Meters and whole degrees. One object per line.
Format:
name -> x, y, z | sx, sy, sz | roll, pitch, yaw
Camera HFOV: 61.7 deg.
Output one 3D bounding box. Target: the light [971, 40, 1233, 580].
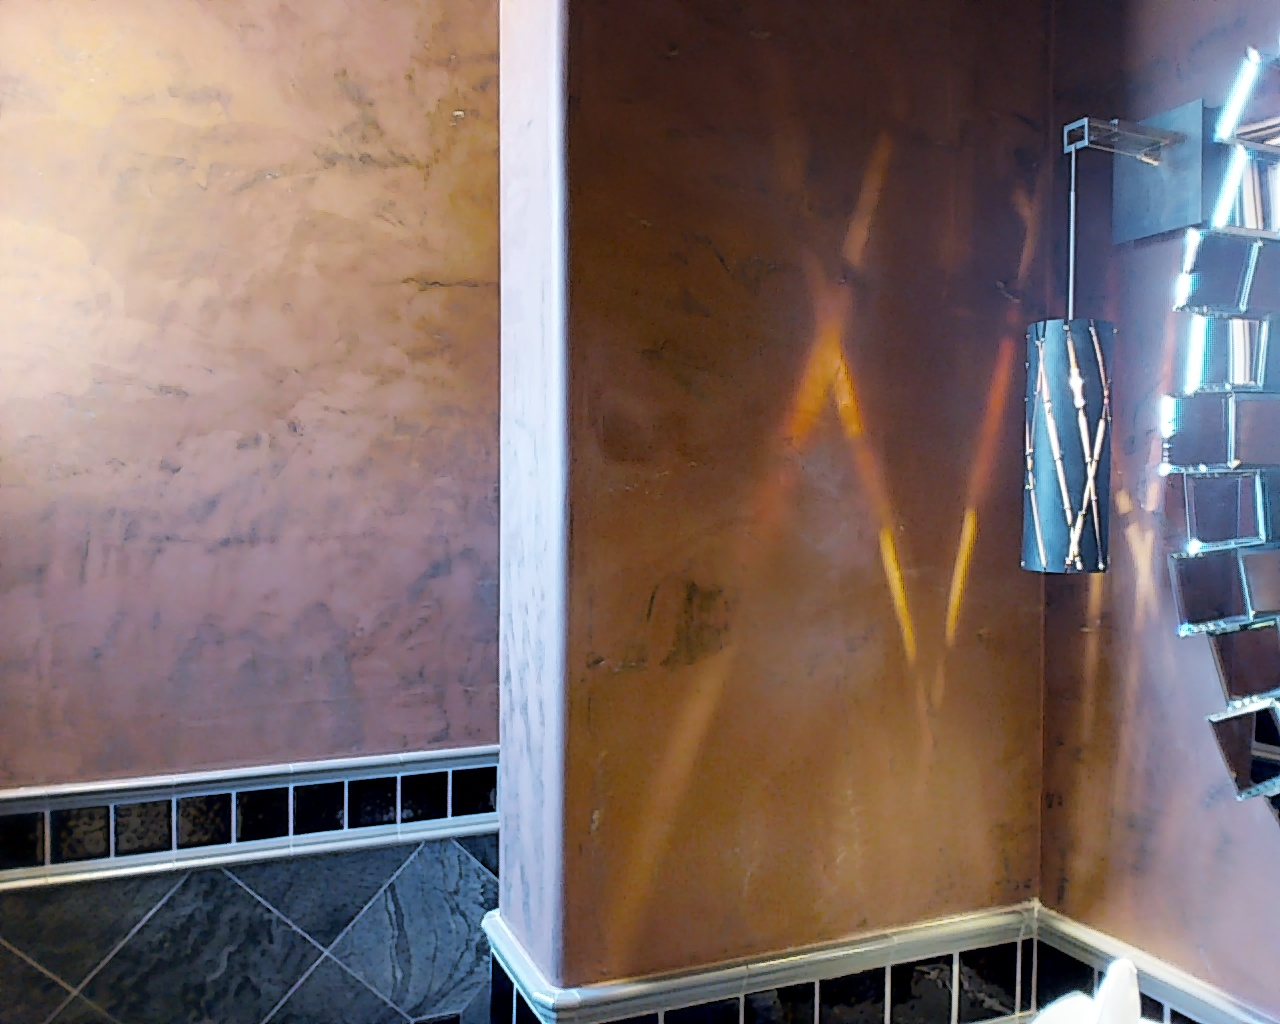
light -> 0.500, -0.200, 1.170 | 0.200, 0.530, 0.160 | 0, 2, -24
